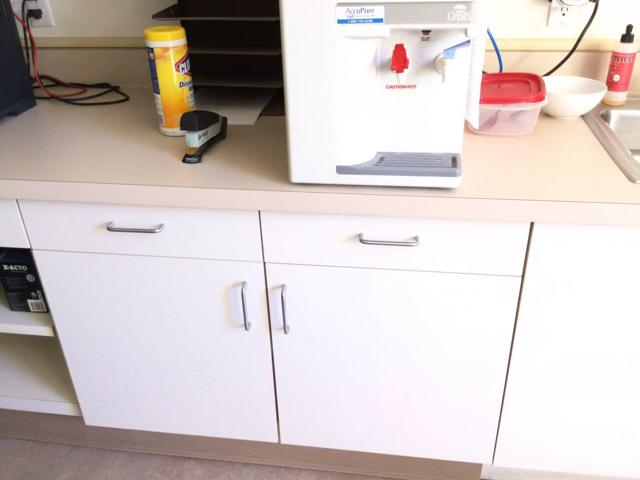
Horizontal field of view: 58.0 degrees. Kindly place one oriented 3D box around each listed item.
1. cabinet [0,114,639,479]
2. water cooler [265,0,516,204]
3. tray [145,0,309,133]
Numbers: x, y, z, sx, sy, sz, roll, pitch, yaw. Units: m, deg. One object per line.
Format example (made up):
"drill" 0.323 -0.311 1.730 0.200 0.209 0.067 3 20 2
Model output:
"cabinet" -0.070 0.200 1.300 2.930 0.810 0.330 5 30 9
"water cooler" 0.130 -0.370 1.050 0.360 0.450 0.410 5 30 9
"tray" -0.210 -0.530 1.400 0.320 0.460 0.250 5 30 9
